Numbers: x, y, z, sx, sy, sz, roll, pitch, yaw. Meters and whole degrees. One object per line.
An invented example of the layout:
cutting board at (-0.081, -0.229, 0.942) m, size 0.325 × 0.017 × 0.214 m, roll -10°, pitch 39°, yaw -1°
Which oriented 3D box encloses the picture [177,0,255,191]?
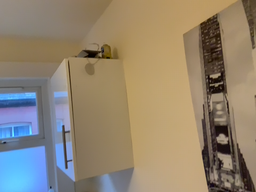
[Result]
picture at (0.380, 0.180, 0.570) m, size 0.040 × 0.990 × 0.510 m, roll -3°, pitch -6°, yaw -28°
